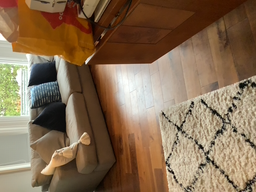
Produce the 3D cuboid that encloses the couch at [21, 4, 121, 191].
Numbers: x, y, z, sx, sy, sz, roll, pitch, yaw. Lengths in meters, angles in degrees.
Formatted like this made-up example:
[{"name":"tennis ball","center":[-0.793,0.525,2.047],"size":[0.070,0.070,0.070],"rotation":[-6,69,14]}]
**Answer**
[{"name":"couch","center":[-1.070,-0.130,3.180],"size":[0.910,0.840,2.860],"rotation":[-60,41,41]}]
